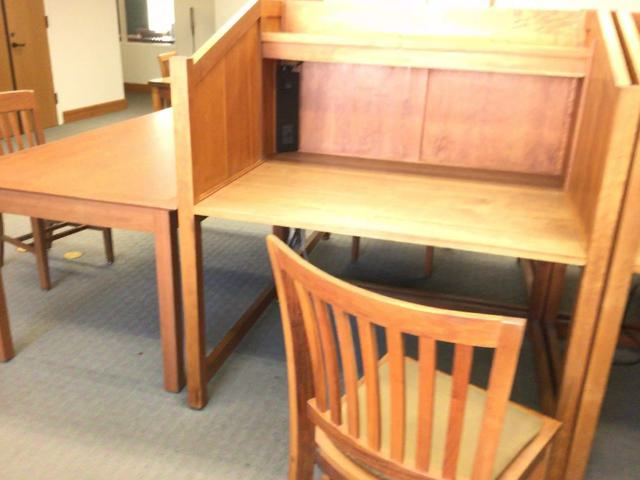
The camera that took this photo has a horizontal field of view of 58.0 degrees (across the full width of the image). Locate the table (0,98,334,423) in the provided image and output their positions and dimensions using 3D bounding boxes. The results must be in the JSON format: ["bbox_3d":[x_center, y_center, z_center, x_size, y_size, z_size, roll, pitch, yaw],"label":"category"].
[{"bbox_3d":[-0.670,-0.130,2.760,0.990,0.830,1.830,8,21,15],"label":"table"}]

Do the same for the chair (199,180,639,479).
[{"bbox_3d":[0.220,0.420,1.290,0.670,0.900,0.660,18,25,35],"label":"chair"}]

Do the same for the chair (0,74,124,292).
[{"bbox_3d":[-1.430,-0.320,2.900,0.550,0.920,0.590,8,21,15],"label":"chair"}]
